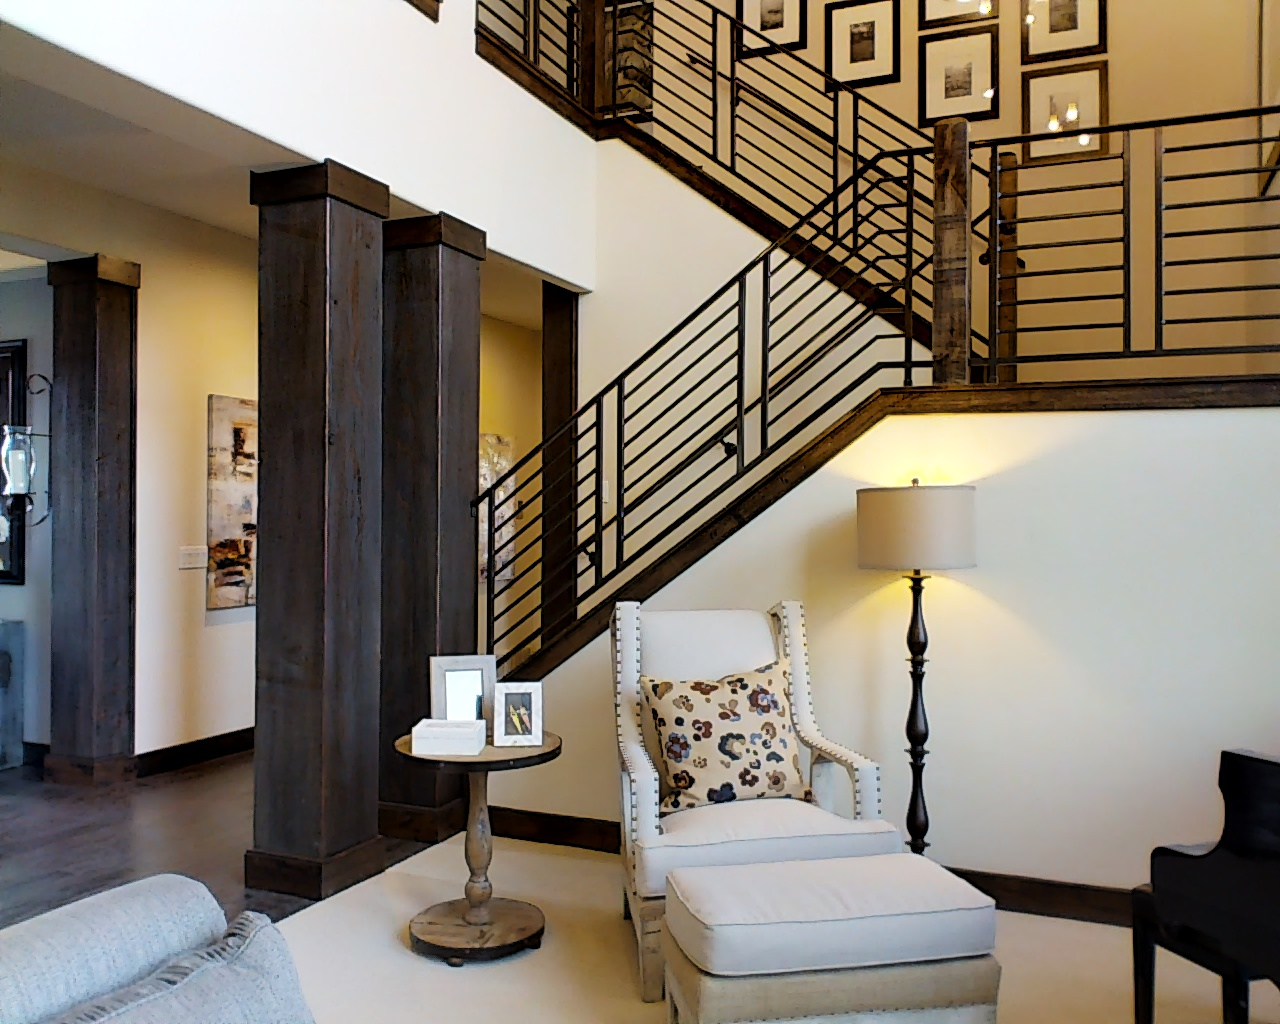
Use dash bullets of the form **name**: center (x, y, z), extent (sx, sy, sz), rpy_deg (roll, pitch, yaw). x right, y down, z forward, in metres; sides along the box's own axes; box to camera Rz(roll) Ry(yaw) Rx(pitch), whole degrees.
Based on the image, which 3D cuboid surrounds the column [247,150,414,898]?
- **column**: center (-1.180, 0.040, 4.110), extent (0.420, 2.680, 0.420), rpy_deg (0, 0, 23)

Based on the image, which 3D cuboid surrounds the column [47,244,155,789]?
- **column**: center (-2.790, 0.020, 5.550), extent (0.360, 2.720, 0.310), rpy_deg (0, 0, 23)

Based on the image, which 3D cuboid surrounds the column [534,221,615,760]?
- **column**: center (-0.370, -0.120, 6.160), extent (0.310, 2.990, 0.360), rpy_deg (0, 0, 23)
